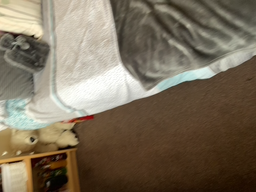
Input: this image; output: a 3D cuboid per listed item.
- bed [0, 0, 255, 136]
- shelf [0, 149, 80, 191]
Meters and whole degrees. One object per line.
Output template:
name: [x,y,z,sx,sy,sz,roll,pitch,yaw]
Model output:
bed: [-0.220,-0.660,1.430,2.040,0.590,1.540,-17,75,34]
shelf: [-0.850,0.670,1.500,0.310,1.020,0.430,-17,76,34]
